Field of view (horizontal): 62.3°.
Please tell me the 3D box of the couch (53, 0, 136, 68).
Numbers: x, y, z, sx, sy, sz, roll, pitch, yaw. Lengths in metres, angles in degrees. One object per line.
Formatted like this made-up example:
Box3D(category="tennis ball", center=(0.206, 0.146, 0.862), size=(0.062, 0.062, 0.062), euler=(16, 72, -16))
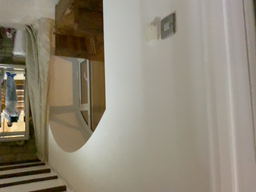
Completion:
Box3D(category="couch", center=(-0.520, -0.900, 2.810), size=(0.730, 0.780, 1.200), euler=(0, 176, -28))
